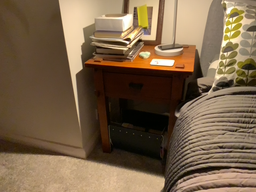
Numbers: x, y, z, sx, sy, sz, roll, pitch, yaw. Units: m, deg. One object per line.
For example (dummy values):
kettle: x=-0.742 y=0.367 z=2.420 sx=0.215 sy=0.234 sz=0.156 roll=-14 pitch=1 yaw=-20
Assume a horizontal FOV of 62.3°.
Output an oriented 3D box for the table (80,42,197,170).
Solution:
table: x=0.100 y=0.030 z=1.380 sx=0.580 sy=0.620 sz=0.450 roll=7 pitch=30 yaw=17

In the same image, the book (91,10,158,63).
book: x=0.000 y=-0.360 z=1.230 sx=0.270 sy=0.210 sz=0.360 roll=7 pitch=30 yaw=17
